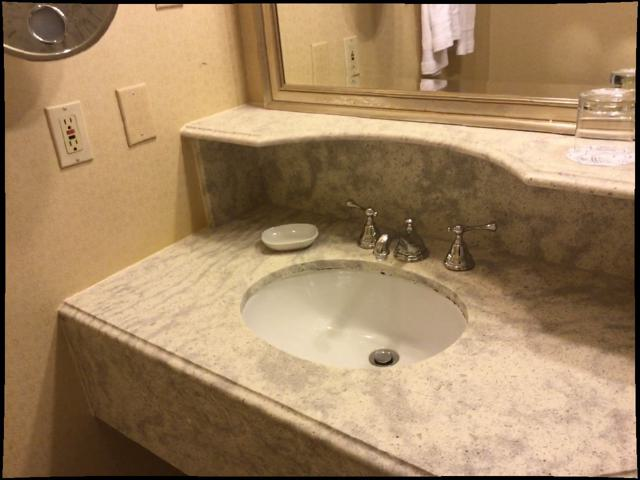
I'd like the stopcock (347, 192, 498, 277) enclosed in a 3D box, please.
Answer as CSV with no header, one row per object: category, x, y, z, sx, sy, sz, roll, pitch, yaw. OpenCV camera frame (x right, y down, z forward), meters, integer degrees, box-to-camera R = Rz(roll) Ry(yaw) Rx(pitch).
stopcock,0.210,-0.020,1.200,0.270,0.080,0.140,13,31,35
